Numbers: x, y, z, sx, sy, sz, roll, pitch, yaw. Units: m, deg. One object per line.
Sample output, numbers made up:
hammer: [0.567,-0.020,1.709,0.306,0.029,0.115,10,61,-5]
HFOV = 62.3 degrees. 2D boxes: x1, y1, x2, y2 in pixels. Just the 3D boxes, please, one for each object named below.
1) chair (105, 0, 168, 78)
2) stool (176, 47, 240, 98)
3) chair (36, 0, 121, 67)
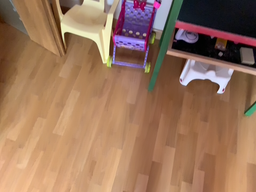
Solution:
chair: [0.050,-0.440,1.320,0.290,0.560,0.350,15,63,2]
stool: [0.520,-0.150,1.400,0.330,0.200,0.190,14,63,2]
chair: [-0.270,-0.530,1.330,0.380,0.560,0.350,15,63,2]
